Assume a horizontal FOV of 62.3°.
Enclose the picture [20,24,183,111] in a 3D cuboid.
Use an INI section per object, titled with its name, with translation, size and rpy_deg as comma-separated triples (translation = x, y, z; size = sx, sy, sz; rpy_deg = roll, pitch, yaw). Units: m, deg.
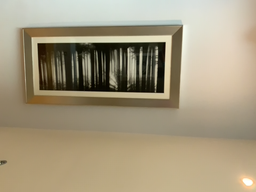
[picture]
translation = -0.290, -0.280, 2.090
size = 1.580, 0.800, 0.050
rpy_deg = 2, -170, 7
